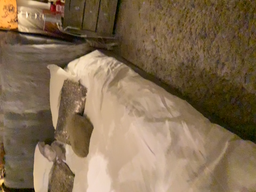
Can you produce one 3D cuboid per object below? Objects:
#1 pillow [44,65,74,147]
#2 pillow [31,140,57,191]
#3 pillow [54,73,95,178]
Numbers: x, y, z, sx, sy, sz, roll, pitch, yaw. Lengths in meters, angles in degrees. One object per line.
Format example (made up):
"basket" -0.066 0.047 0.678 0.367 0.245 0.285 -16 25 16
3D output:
"pillow" -0.730 0.100 2.190 0.160 0.340 0.750 0 113 -31
"pillow" -0.960 0.920 2.380 0.190 0.400 0.720 2 112 -28
"pillow" -0.510 0.230 1.900 0.170 0.590 0.710 2 112 -27
